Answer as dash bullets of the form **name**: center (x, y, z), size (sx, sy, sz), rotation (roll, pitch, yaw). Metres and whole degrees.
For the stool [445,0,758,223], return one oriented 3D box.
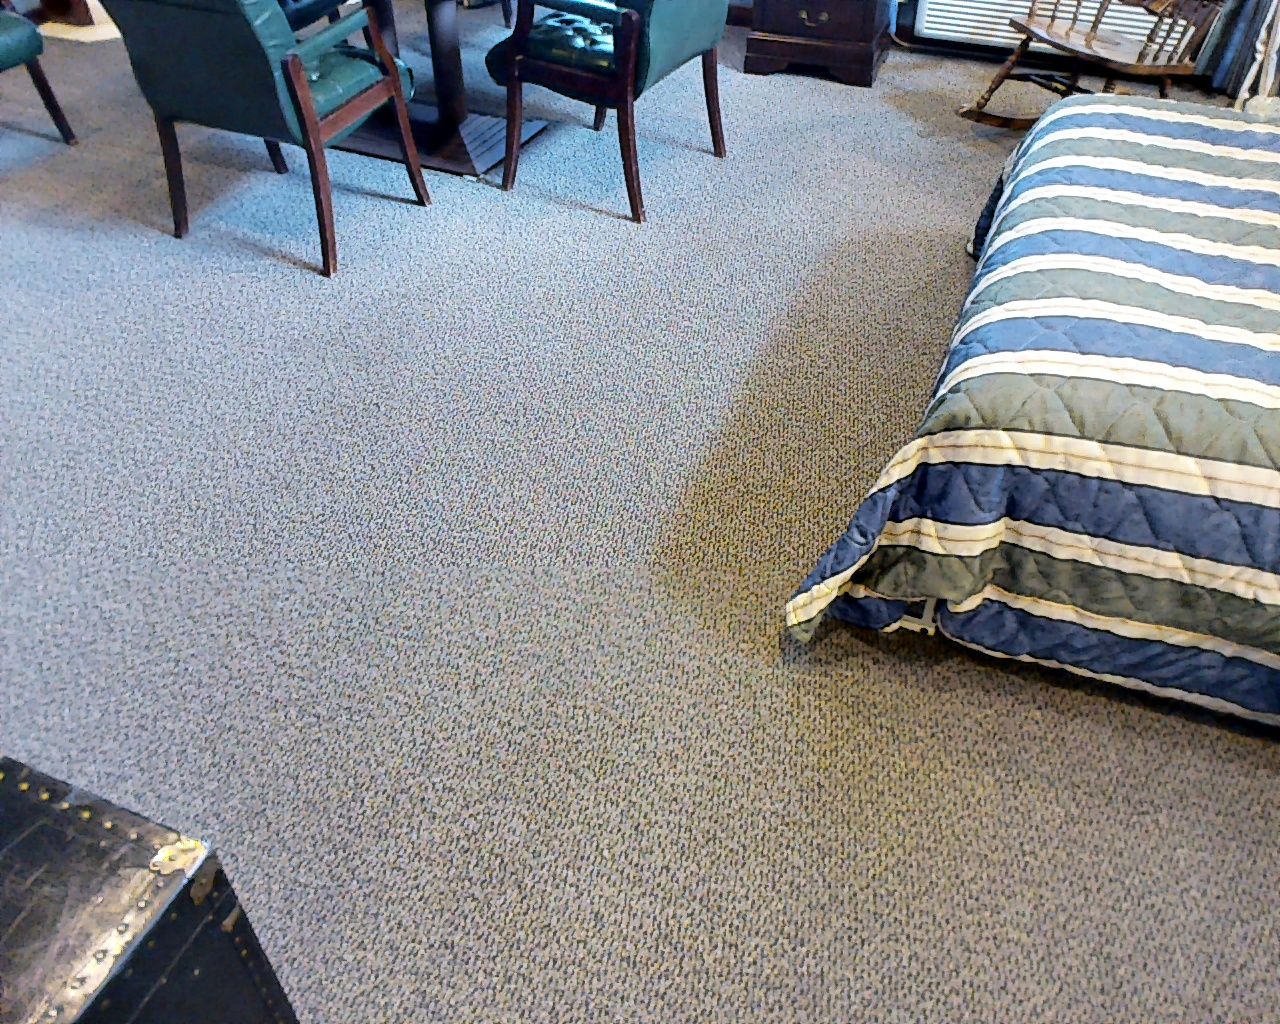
- **stool**: center (-0.100, -1.550, 3.470), size (0.740, 0.860, 0.710), rotation (18, 45, 20)

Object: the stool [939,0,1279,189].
- **stool**: center (1.630, -1.760, 3.460), size (0.980, 1.060, 0.590), rotation (-20, 45, -20)

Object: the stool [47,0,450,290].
- **stool**: center (-1.100, -1.280, 3.170), size (0.680, 0.880, 0.740), rotation (14, 44, 17)
